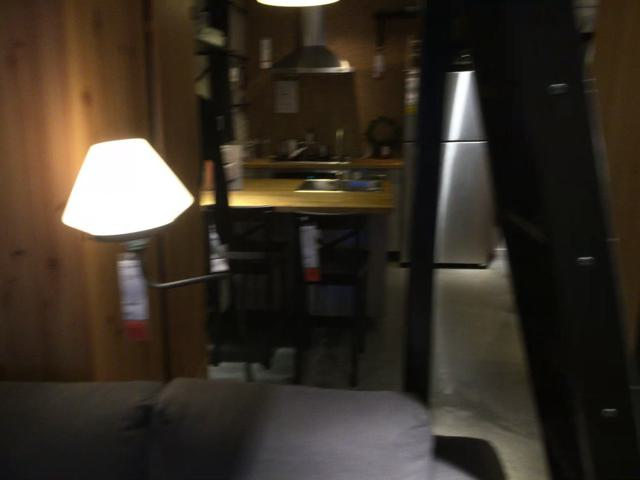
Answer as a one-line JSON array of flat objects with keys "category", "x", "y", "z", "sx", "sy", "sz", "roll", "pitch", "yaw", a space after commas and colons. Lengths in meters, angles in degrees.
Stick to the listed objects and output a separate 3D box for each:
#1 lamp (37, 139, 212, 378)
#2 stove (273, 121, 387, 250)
[{"category": "lamp", "x": -0.420, "y": 0.030, "z": 1.310, "sx": 0.250, "sy": 0.490, "sz": 0.230, "roll": 0, "pitch": 14, "yaw": 8}, {"category": "stove", "x": 0.130, "y": -0.510, "z": 5.220, "sx": 0.930, "sy": 1.060, "sz": 0.680, "roll": 0, "pitch": 14, "yaw": 8}]
